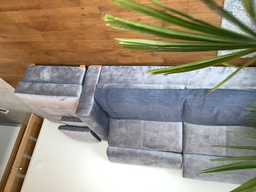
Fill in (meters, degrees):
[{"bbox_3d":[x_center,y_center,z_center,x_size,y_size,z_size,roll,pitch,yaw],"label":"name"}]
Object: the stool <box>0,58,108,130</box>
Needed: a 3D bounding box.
[{"bbox_3d":[-0.880,0.020,2.820,0.910,0.480,1.060,3,154,12],"label":"stool"}]
